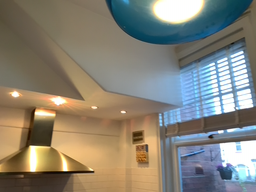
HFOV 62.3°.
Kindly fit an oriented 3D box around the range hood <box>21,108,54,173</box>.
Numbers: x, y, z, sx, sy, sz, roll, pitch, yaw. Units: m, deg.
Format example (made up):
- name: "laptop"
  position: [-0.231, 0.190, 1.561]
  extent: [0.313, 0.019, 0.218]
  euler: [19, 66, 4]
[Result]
- name: "range hood"
  position: [-0.950, 0.470, 2.240]
  extent: [0.210, 0.630, 0.190]
  euler: [11, -21, -34]
